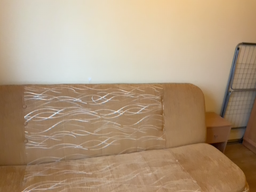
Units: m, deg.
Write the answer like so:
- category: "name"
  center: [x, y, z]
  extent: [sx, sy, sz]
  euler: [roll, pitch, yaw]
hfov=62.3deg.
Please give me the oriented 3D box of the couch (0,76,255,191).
- category: "couch"
  center: [-0.150, 0.440, 1.630]
  extent: [1.980, 0.900, 1.110]
  euler: [-1, 22, -18]
